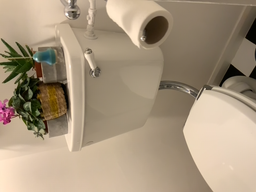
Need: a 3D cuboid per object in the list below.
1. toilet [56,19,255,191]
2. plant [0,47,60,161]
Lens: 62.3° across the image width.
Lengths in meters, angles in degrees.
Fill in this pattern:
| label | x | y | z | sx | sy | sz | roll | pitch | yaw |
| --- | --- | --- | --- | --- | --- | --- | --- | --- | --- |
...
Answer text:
| label | x | y | z | sx | sy | sz | roll | pitch | yaw |
| --- | --- | --- | --- | --- | --- | --- | --- | --- | --- |
| toilet | 0.270 | 0.110 | 0.750 | 0.720 | 0.880 | 0.470 | -120 | 32 | -41 |
| plant | -0.330 | 0.030 | 0.690 | 0.160 | 0.170 | 0.330 | -120 | 31 | -41 |
